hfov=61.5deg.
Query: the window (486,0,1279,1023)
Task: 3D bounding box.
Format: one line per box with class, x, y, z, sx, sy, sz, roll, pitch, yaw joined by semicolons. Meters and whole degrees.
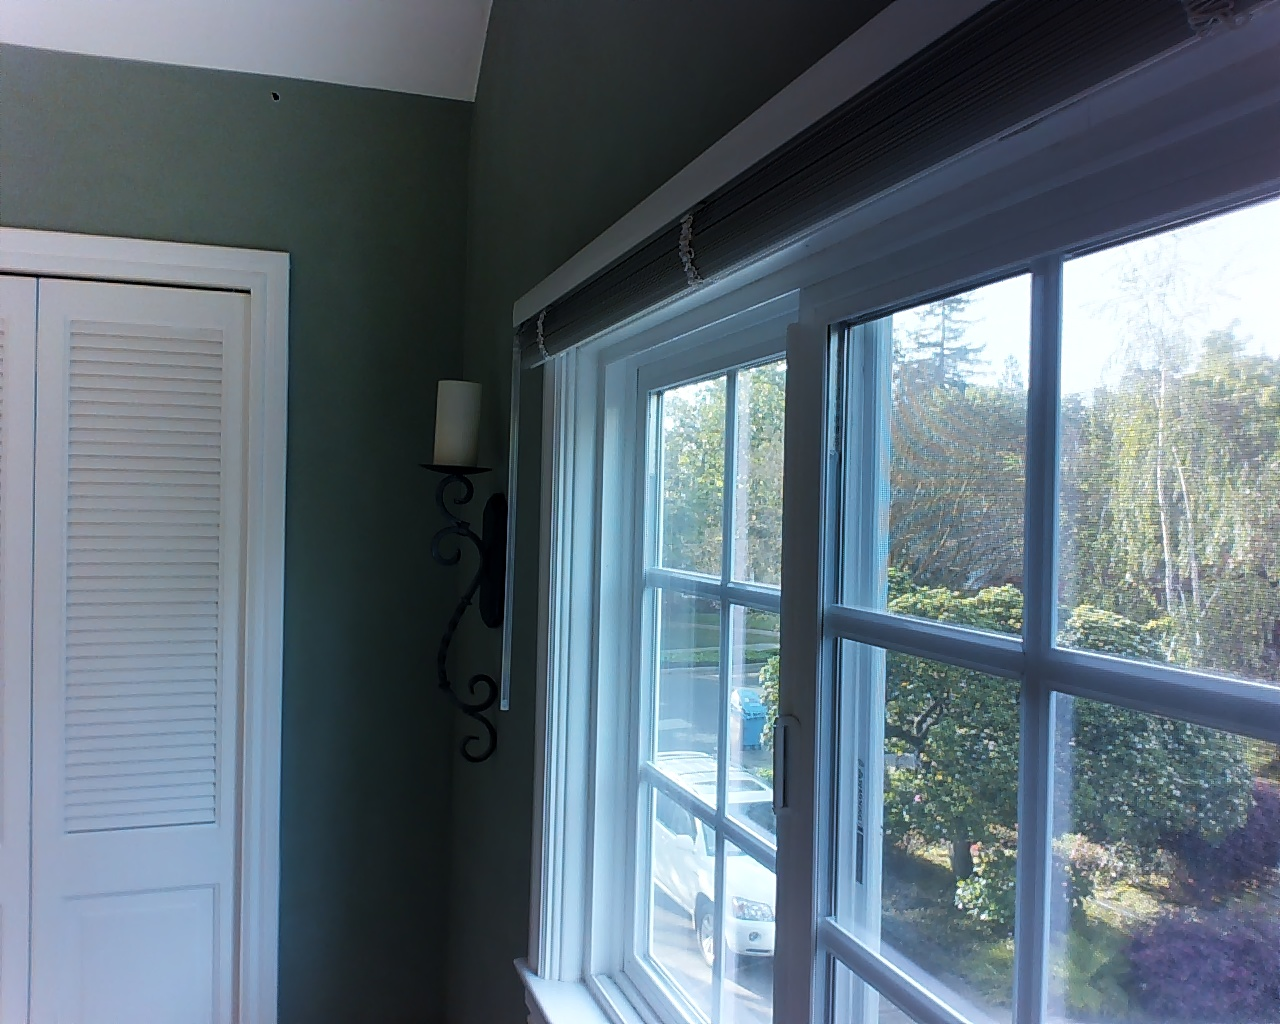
window;0.150;0.240;0.940;0.290;0.980;1.320;2;0;-19
